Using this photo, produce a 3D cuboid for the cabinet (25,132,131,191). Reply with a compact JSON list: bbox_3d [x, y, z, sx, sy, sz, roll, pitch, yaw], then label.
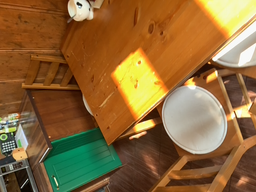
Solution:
[{"bbox_3d":[-0.480,0.720,2.110,0.510,0.860,0.310,-49,63,40],"label":"cabinet"}]
